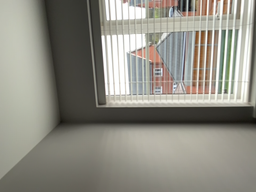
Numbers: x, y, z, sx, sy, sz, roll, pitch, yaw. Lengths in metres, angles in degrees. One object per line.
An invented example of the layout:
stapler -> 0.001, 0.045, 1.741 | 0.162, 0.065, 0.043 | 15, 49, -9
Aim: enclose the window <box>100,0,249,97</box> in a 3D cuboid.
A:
window -> 0.330, -0.510, 1.610 | 0.070, 1.050, 1.040 | -71, -21, -73
